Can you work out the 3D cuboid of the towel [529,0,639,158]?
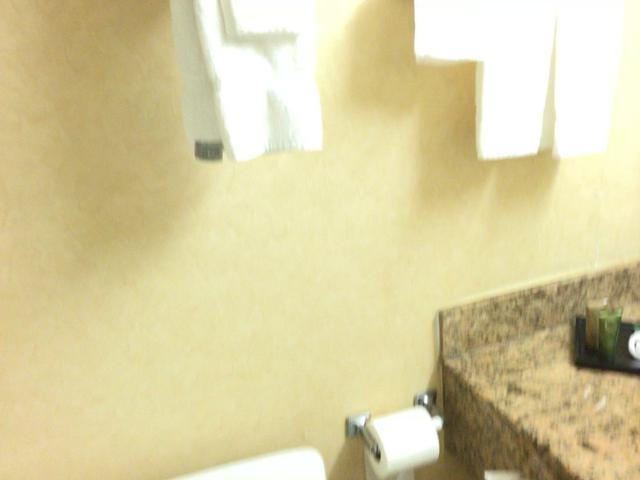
[{"bbox_3d":[0.460,-0.320,0.990,0.160,0.330,0.080,-10,20,-19],"label":"towel"}]

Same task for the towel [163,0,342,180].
[{"bbox_3d":[-0.090,-0.280,0.710,0.180,0.370,0.130,-10,20,-19],"label":"towel"}]

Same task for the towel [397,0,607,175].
[{"bbox_3d":[0.290,-0.290,0.920,0.330,0.320,0.080,-10,20,-19],"label":"towel"}]
